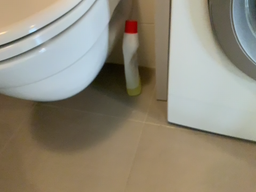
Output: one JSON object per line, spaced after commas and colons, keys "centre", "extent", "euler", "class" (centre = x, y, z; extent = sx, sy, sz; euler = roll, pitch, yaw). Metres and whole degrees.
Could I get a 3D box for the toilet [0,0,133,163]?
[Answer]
{"centre": [-0.240, -0.170, 0.630], "extent": [0.360, 0.370, 0.540], "euler": [7, 50, 14], "class": "toilet"}
